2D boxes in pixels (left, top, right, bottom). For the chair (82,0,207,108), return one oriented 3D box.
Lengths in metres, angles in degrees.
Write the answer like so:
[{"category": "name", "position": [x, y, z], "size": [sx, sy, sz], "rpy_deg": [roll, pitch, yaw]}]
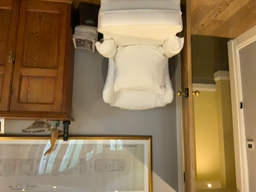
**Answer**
[{"category": "chair", "position": [0.120, -0.430, 2.050], "size": [0.870, 1.000, 1.000], "rpy_deg": [0, 171, 0]}]
